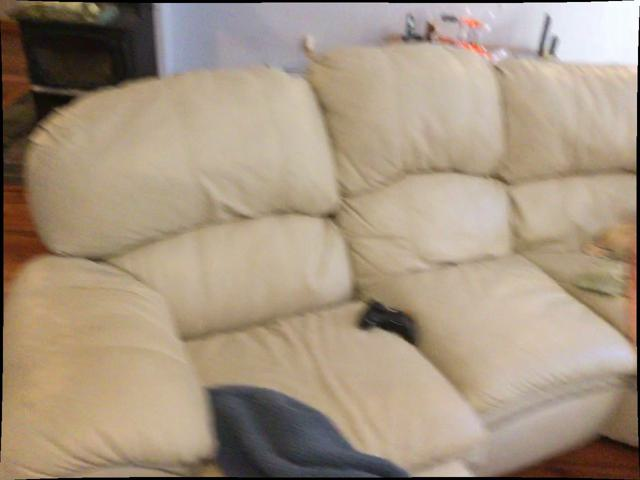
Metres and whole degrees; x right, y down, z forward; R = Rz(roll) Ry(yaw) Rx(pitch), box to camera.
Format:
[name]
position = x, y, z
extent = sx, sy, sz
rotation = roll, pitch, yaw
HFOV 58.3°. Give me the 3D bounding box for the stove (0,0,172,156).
[stove]
position = -1.339, -1.301, 3.450
extent = 0.619, 1.171, 1.210
rotation = 4, 30, -4
